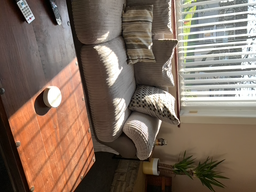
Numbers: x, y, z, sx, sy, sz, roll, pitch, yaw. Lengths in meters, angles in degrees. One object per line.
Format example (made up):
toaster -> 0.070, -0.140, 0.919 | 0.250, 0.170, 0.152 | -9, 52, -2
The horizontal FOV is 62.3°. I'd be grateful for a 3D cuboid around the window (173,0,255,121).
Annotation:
window -> 1.460, -0.510, 2.440 | 0.270, 1.770, 1.630 | -47, 133, -64
